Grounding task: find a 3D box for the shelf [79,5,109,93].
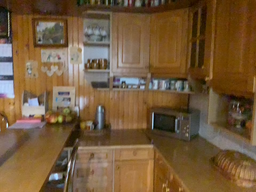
[{"bbox_3d":[-0.380,-0.500,2.380,0.300,0.890,0.340,0,7,-9],"label":"shelf"}]
